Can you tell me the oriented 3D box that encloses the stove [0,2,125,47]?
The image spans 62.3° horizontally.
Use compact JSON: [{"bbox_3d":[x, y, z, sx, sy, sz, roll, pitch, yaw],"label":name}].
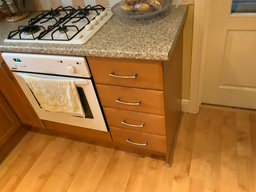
[{"bbox_3d":[-0.410,-0.480,1.360,0.620,0.020,0.590,7,43,20],"label":"stove"}]
